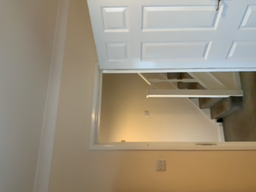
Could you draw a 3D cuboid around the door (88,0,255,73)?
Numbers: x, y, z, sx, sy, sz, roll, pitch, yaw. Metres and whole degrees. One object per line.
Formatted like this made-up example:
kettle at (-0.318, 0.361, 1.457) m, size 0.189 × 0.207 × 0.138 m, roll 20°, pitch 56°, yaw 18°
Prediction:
door at (0.680, -0.510, 1.790) m, size 0.780 × 1.930 × 0.040 m, roll 87°, pitch -177°, yaw -49°
